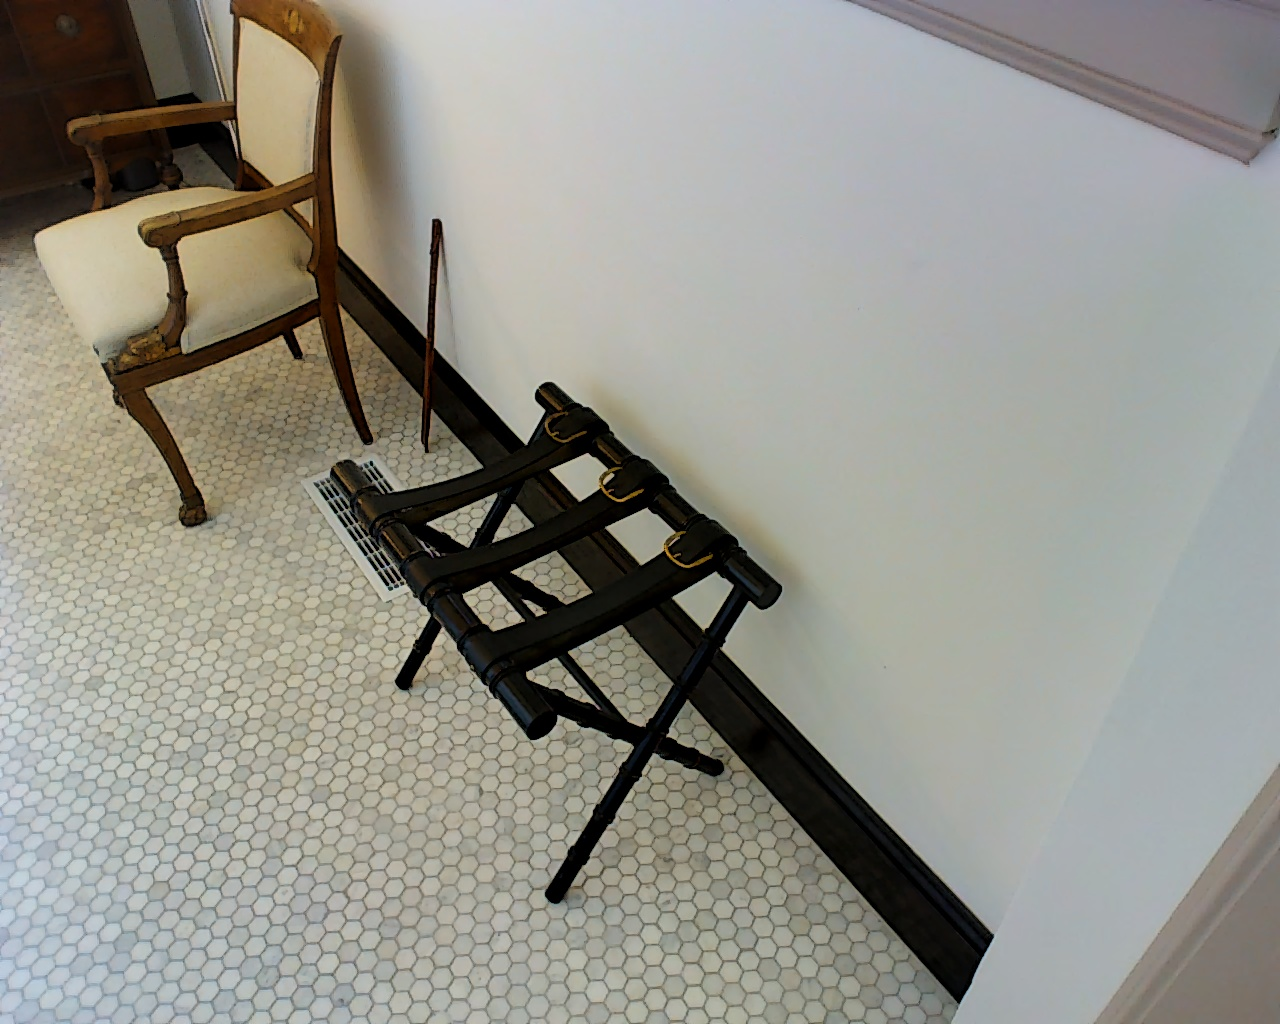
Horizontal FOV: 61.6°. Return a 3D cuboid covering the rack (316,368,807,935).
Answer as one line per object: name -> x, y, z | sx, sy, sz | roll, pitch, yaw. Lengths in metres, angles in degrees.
rack -> -0.130, 0.190, 1.680 | 0.460, 0.490, 0.580 | -24, 48, -24

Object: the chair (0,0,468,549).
chair -> -0.850, -0.550, 2.240 | 0.680, 0.890, 0.610 | -24, 48, -24
